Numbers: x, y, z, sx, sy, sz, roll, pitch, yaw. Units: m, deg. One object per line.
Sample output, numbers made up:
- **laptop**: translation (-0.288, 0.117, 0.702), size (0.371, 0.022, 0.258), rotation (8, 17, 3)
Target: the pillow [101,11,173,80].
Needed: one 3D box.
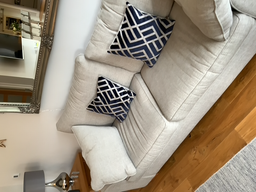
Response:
- **pillow**: translation (0.060, -0.370, 1.620), size (0.200, 0.390, 0.410), rotation (53, 131, 48)

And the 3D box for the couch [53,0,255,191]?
- **couch**: translation (0.080, -0.120, 1.860), size (2.270, 0.930, 1.090), rotation (-64, 37, 34)

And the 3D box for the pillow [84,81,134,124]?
- **pillow**: translation (-0.190, 0.070, 2.020), size (0.320, 0.340, 0.230), rotation (-61, 39, 37)
